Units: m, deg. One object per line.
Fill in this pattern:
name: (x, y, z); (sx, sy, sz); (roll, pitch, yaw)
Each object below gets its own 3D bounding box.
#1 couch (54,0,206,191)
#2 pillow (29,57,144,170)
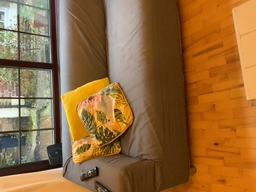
couch: (-0.080, -0.280, 1.690); (0.950, 0.680, 1.840); (-10, 82, 53)
pillow: (-0.250, 0.140, 1.530); (0.190, 0.650, 0.510); (-19, 38, 50)
